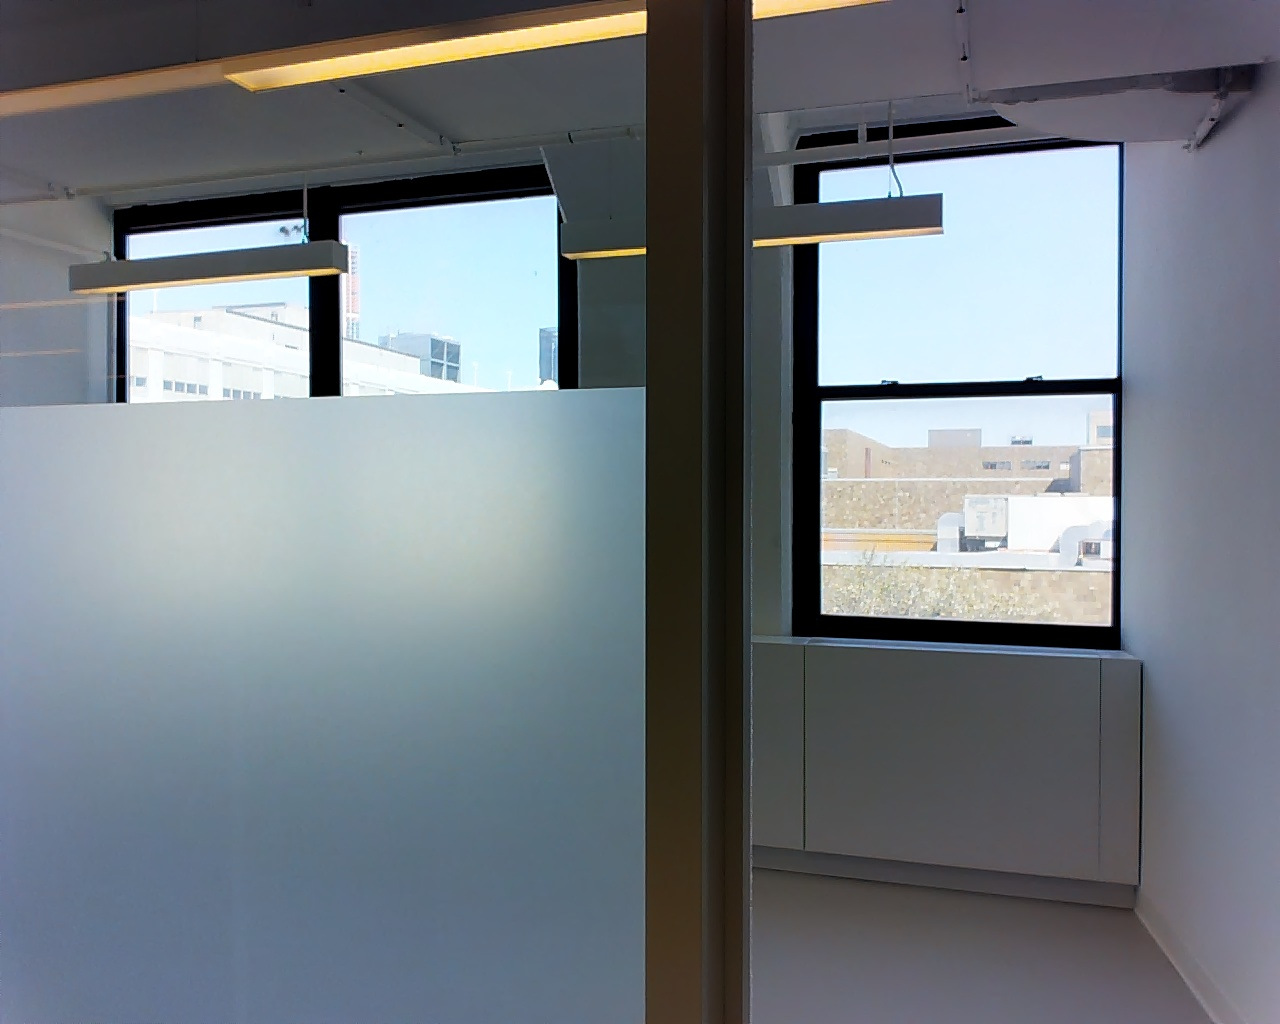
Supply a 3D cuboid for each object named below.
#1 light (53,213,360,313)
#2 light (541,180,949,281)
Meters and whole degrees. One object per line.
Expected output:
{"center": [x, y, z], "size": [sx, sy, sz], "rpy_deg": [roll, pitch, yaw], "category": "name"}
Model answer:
{"center": [-1.660, -0.930, 4.060], "size": [1.270, 0.250, 0.170], "rpy_deg": [0, 1, 18], "category": "light"}
{"center": [0.310, -0.880, 3.400], "size": [1.280, 0.170, 0.180], "rpy_deg": [0, 1, 18], "category": "light"}
